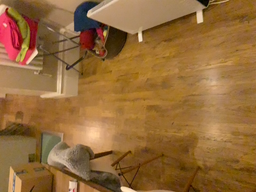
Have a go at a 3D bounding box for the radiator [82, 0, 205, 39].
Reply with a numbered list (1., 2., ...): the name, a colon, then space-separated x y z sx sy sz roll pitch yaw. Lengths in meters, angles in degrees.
1. radiator: 0.090 -0.650 1.630 0.770 0.550 0.100 -3 84 47
